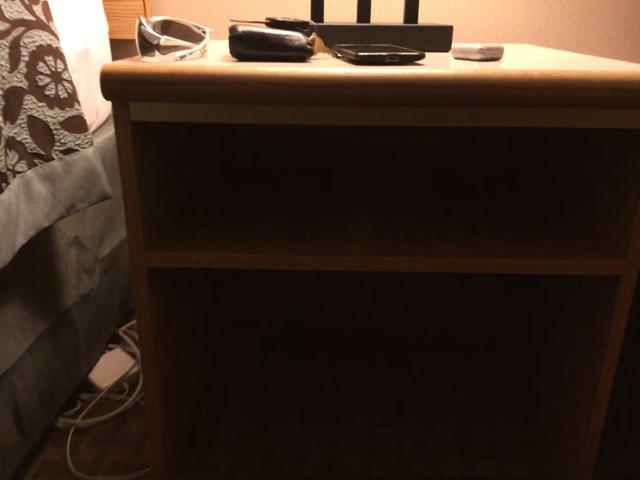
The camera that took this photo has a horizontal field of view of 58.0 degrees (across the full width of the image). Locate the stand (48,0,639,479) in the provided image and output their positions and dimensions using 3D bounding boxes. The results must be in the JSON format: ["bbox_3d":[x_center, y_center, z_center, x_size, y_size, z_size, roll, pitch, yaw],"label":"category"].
[{"bbox_3d":[0.090,-0.090,0.860,0.680,0.740,0.610,4,17,0],"label":"stand"}]
